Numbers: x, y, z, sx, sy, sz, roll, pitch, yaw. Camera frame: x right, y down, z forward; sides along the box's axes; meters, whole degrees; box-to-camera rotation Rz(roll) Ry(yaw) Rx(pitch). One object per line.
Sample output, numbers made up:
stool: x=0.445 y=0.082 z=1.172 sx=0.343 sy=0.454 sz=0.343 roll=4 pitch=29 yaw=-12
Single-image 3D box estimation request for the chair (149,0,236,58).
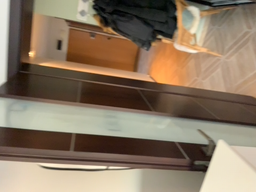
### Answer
chair: x=0.770 y=-0.900 z=2.730 sx=0.620 sy=0.730 sz=0.610 roll=-119 pitch=39 yaw=-67
